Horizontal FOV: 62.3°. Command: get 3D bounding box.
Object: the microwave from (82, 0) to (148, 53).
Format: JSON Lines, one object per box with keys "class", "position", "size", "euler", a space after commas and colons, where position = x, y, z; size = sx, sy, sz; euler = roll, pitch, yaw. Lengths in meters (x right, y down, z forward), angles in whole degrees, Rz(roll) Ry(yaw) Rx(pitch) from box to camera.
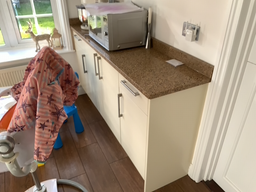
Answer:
{"class": "microwave", "position": [-0.130, -0.630, 1.840], "size": [0.350, 0.290, 0.570], "euler": [-14, 35, -22]}
